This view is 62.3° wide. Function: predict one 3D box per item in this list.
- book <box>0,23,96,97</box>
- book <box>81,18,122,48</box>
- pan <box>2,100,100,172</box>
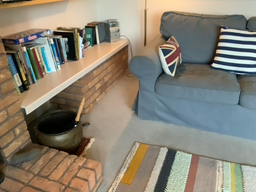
[{"bbox_3d":[-0.700,-0.410,1.940,0.210,0.300,1.180,10,31,20],"label":"book"},{"bbox_3d":[-0.320,-0.810,2.700,0.300,0.260,0.460,11,31,21],"label":"book"},{"bbox_3d":[-0.600,0.290,1.730,0.580,0.250,0.430,10,31,20],"label":"pan"}]
